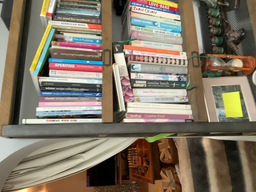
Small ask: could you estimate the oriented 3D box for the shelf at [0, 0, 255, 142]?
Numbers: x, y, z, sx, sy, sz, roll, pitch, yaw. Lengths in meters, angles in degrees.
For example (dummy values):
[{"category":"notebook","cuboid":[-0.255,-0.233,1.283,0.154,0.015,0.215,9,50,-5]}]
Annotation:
[{"category":"shelf","cuboid":[0.430,-0.450,1.110,0.430,1.900,1.270,133,136,-69]}]
